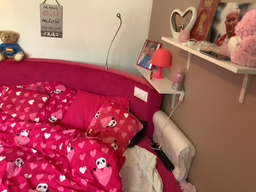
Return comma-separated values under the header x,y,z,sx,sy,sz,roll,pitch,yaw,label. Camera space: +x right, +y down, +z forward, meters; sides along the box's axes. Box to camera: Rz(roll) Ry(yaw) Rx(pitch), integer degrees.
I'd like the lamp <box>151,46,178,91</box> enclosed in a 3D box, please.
x,y,z,sx,sy,sz,roll,pitch,yaw,label
0.300,-0.230,1.780,0.130,0.340,0.150,3,23,-9,lamp
